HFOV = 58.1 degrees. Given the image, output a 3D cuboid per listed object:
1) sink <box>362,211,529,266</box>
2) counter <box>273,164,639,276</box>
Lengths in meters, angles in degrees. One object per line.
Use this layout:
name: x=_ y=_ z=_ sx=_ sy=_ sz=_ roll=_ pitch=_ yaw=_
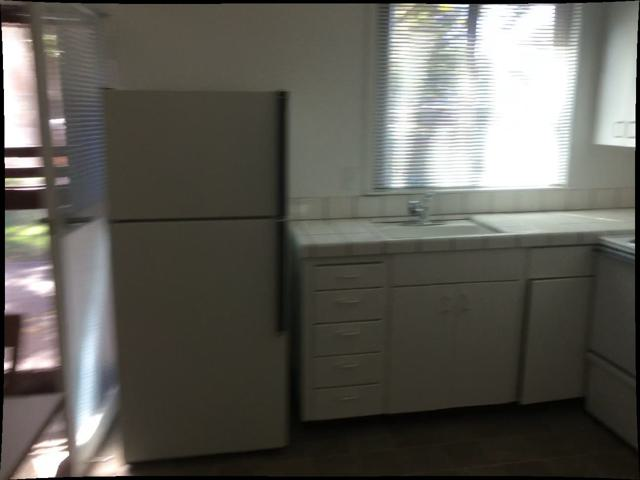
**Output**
sink: x=0.579 y=-0.020 z=2.800 sx=0.629 sy=0.130 sz=0.540 roll=-3 pitch=12 yaw=-10
counter: x=0.869 y=-0.150 z=2.850 sx=2.117 sy=0.331 sz=0.800 roll=-3 pitch=12 yaw=-10
